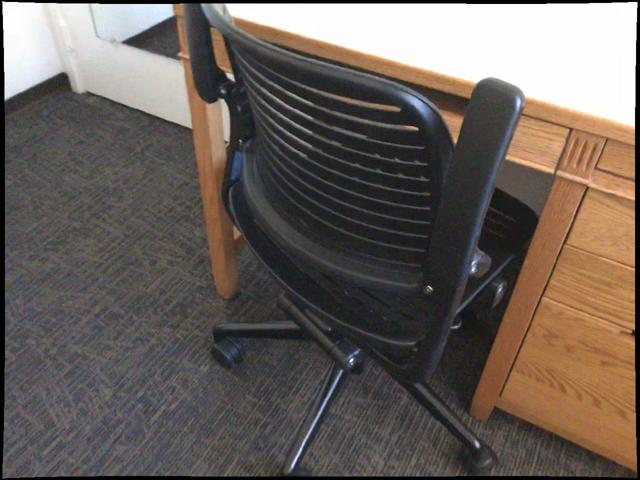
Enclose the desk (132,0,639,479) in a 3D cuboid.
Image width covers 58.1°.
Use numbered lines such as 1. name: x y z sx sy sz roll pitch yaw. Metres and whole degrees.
1. desk: 0.349 -0.100 1.270 1.208 0.771 0.650 21 45 19
